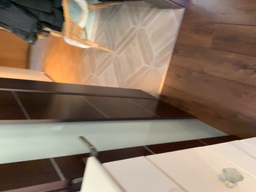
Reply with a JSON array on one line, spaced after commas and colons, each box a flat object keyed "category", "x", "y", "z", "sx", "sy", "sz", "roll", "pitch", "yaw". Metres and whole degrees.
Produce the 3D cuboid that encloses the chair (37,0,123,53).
[{"category": "chair", "x": -0.600, "y": -0.940, "z": 2.570, "sx": 0.620, "sy": 0.730, "sz": 0.610, "roll": 29, "pitch": 110, "yaw": 48}]
